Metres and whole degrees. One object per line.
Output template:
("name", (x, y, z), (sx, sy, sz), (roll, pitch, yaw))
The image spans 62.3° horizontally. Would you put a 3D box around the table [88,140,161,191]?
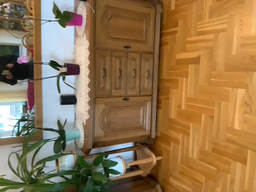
("table", (-0.040, 0.760, 2.320), (0.390, 0.690, 0.350), (13, 103, 58))
